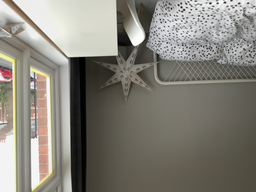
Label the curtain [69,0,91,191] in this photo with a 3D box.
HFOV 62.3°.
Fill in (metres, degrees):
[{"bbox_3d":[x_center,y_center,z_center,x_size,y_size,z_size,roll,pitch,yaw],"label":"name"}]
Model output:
[{"bbox_3d":[-0.460,0.160,2.090,0.110,2.490,0.430,-2,177,-8],"label":"curtain"}]
